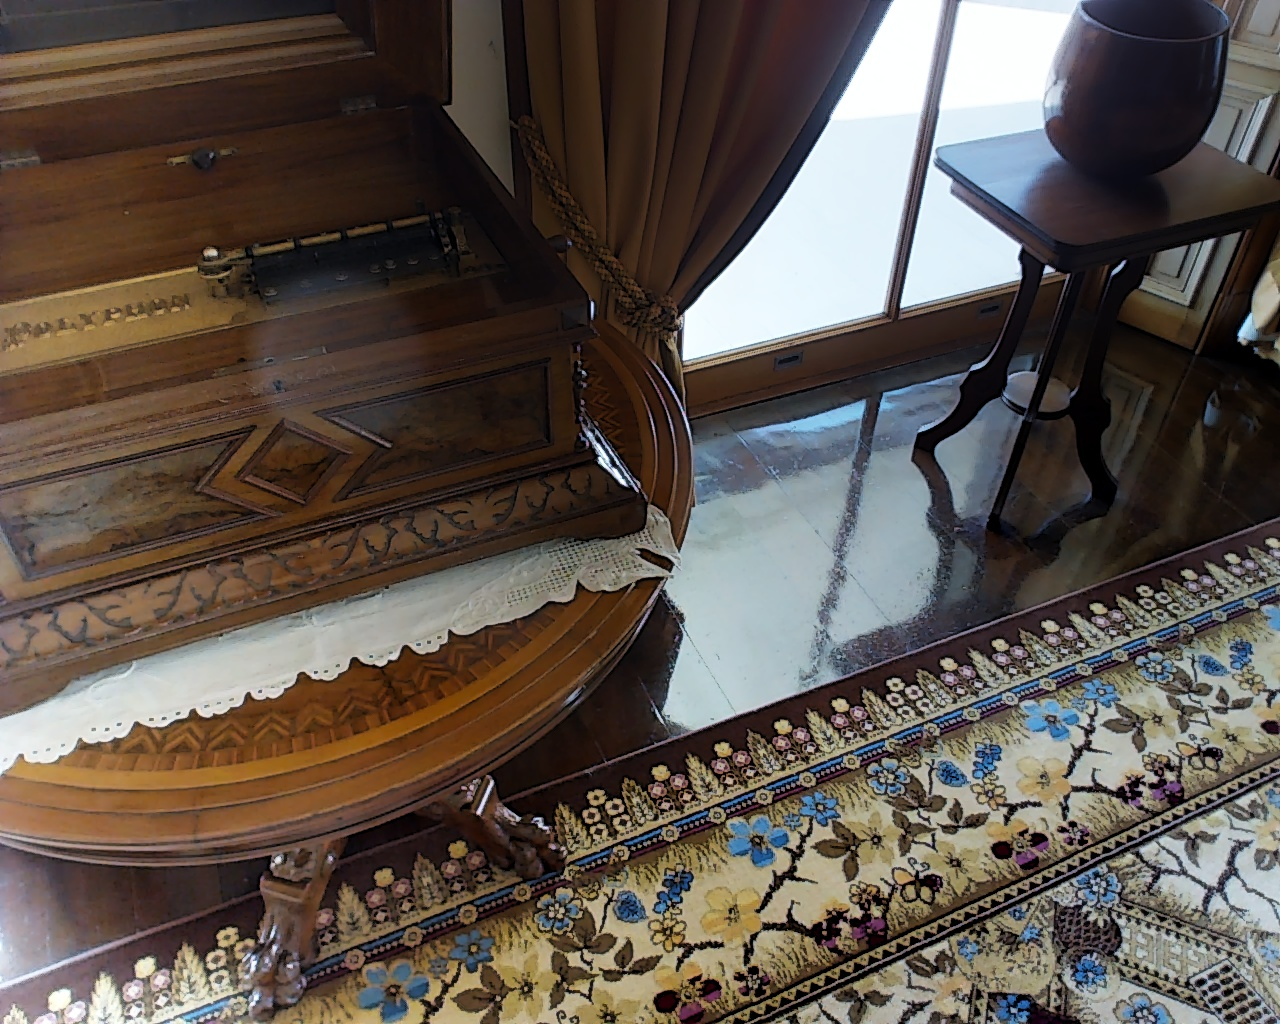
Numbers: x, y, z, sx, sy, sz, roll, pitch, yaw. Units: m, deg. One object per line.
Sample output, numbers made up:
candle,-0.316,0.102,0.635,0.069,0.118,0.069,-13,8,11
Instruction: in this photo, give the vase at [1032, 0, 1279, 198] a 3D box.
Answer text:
vase,0.910,-0.750,1.890,0.320,0.290,0.170,-16,45,-17
